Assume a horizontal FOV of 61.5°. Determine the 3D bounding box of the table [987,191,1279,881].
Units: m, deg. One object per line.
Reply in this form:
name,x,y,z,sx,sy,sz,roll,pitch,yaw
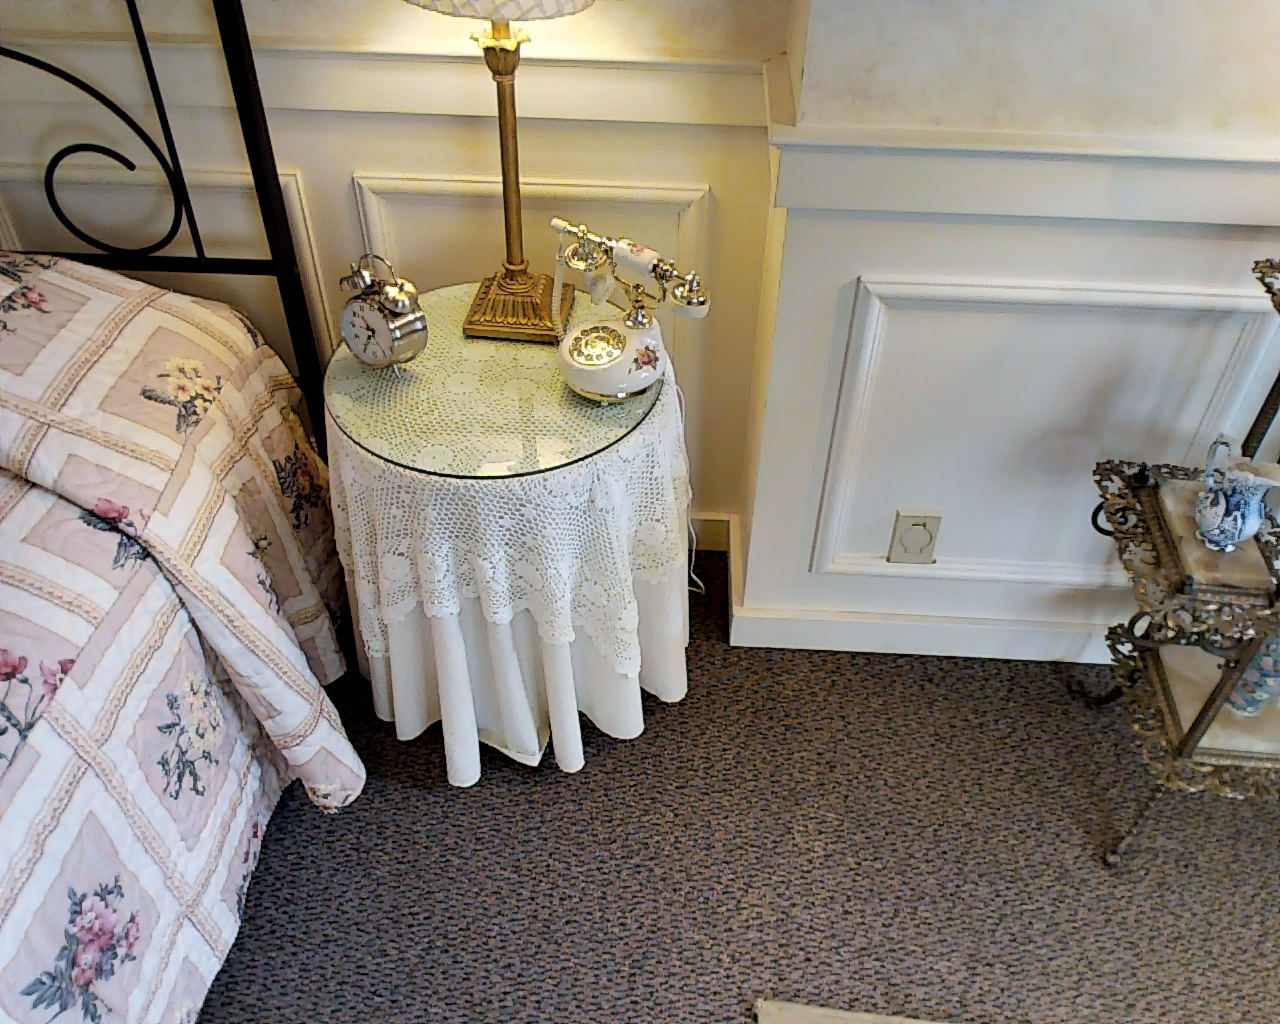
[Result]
table,0.960,0.090,1.540,0.640,0.940,0.430,3,43,3
